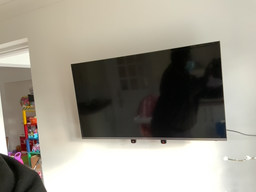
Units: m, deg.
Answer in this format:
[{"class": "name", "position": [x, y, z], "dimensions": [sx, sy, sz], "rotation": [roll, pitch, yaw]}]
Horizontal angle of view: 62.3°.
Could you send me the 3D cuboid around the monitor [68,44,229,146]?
[{"class": "monitor", "position": [0.080, 0.010, 1.280], "dimensions": [0.950, 0.520, 0.060], "rotation": [-2, 7, 21]}]
